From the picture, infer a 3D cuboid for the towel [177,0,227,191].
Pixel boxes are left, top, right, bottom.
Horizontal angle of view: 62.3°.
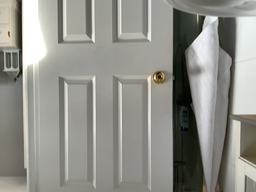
[{"bbox_3d":[0.380,0.030,1.140,0.170,1.060,0.250,0,-178,-1],"label":"towel"}]
